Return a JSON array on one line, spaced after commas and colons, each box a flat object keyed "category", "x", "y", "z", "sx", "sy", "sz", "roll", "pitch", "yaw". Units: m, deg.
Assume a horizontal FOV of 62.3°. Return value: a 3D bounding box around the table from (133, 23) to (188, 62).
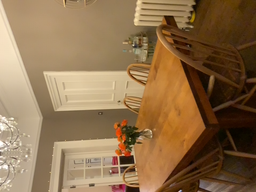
[{"category": "table", "x": 0.450, "y": -0.780, "z": 3.130, "sx": 0.390, "sy": 0.660, "sz": 0.400, "roll": 100, "pitch": 165, "yaw": -51}]
